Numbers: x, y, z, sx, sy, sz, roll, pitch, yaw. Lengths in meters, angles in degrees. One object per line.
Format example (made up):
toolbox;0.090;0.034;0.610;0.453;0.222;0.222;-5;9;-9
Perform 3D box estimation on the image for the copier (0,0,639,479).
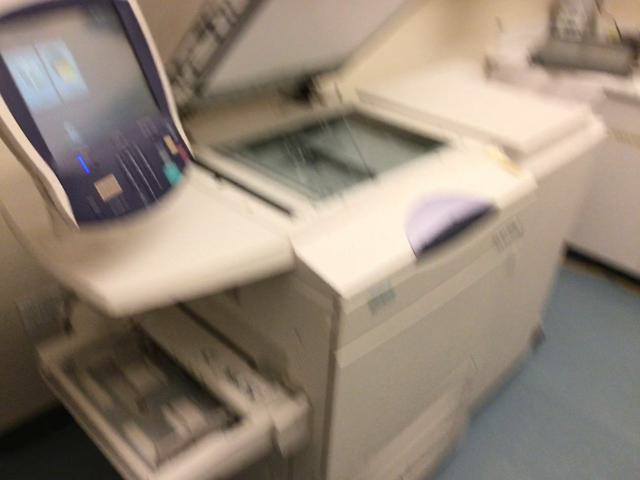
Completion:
copier;0.080;-0.100;1.500;0.900;1.470;1.660;30;44;34
